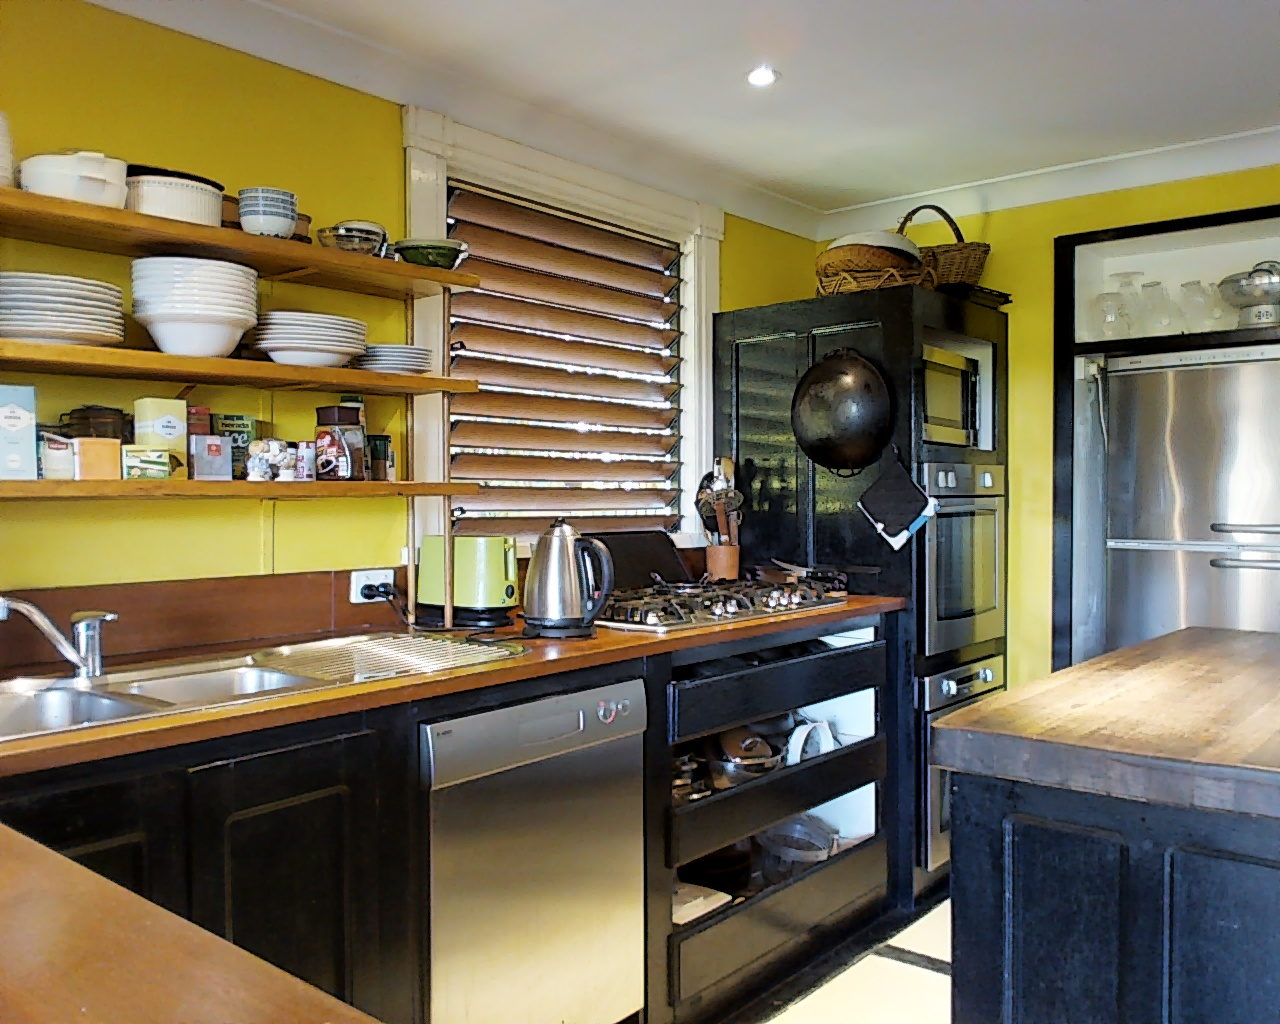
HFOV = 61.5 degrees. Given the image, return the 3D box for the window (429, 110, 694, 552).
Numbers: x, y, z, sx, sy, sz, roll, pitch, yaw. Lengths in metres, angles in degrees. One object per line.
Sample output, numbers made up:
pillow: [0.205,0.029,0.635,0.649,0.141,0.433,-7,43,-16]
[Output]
window: [-0.190,-0.490,3.290,0.060,1.170,1.080,1,1,40]

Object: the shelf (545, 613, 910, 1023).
shelf: [0.300,0.780,2.910,0.330,0.880,1.220,1,1,40]
